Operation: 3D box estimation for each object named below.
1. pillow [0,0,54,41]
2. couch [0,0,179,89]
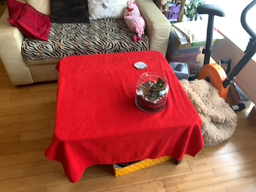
[{"bbox_3d":[-0.870,-0.740,1.910,0.350,0.230,0.510,-8,44,-12],"label":"pillow"},{"bbox_3d":[-0.430,-0.730,2.170,1.490,0.750,0.960,-5,43,-9],"label":"couch"}]
